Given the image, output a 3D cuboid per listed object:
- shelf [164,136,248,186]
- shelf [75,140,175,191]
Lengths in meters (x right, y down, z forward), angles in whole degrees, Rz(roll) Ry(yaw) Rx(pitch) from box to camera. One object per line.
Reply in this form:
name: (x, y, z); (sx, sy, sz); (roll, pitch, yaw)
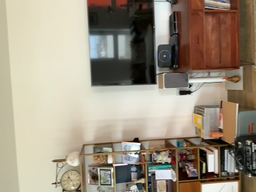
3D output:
shelf: (0.870, 0.720, 2.440); (0.400, 0.800, 0.380); (-150, 57, -82)
shelf: (-0.020, 1.350, 2.390); (0.370, 1.010, 1.580); (-150, 57, -82)
